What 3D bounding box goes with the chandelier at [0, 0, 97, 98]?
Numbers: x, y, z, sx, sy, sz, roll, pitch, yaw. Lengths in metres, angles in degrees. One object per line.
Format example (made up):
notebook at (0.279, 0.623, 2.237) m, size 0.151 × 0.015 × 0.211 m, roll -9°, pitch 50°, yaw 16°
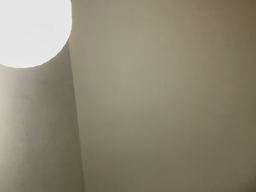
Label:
chandelier at (-0.360, -0.220, 0.610) m, size 0.370 × 0.450 × 0.290 m, roll 81°, pitch 7°, yaw -57°
